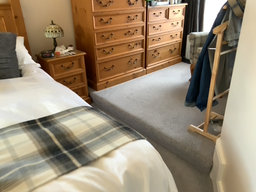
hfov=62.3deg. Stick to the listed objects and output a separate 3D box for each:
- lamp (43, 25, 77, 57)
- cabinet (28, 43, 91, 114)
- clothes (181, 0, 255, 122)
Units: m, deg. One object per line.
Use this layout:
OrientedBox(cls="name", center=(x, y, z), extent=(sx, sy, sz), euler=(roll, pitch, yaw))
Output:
OrientedBox(cls="lamp", center=(-0.740, -0.610, 2.320), extent=(0.260, 0.280, 0.230), euler=(-18, 31, -30))
OrientedBox(cls="cabinet", center=(-0.810, -0.240, 2.550), extent=(0.440, 0.650, 0.530), euler=(-22, 33, -35))
OrientedBox(cls="clothes", center=(0.750, -0.330, 1.680), extent=(0.390, 0.910, 0.410), euler=(-20, 32, -33))
